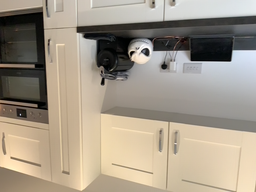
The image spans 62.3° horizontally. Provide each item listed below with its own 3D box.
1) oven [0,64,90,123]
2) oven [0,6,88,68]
[{"bbox_3d":[-0.810,-0.070,2.070,0.610,0.440,0.620,5,-169,22],"label":"oven"},{"bbox_3d":[-0.810,-0.510,1.980,0.610,0.450,0.630,5,-169,22],"label":"oven"}]
